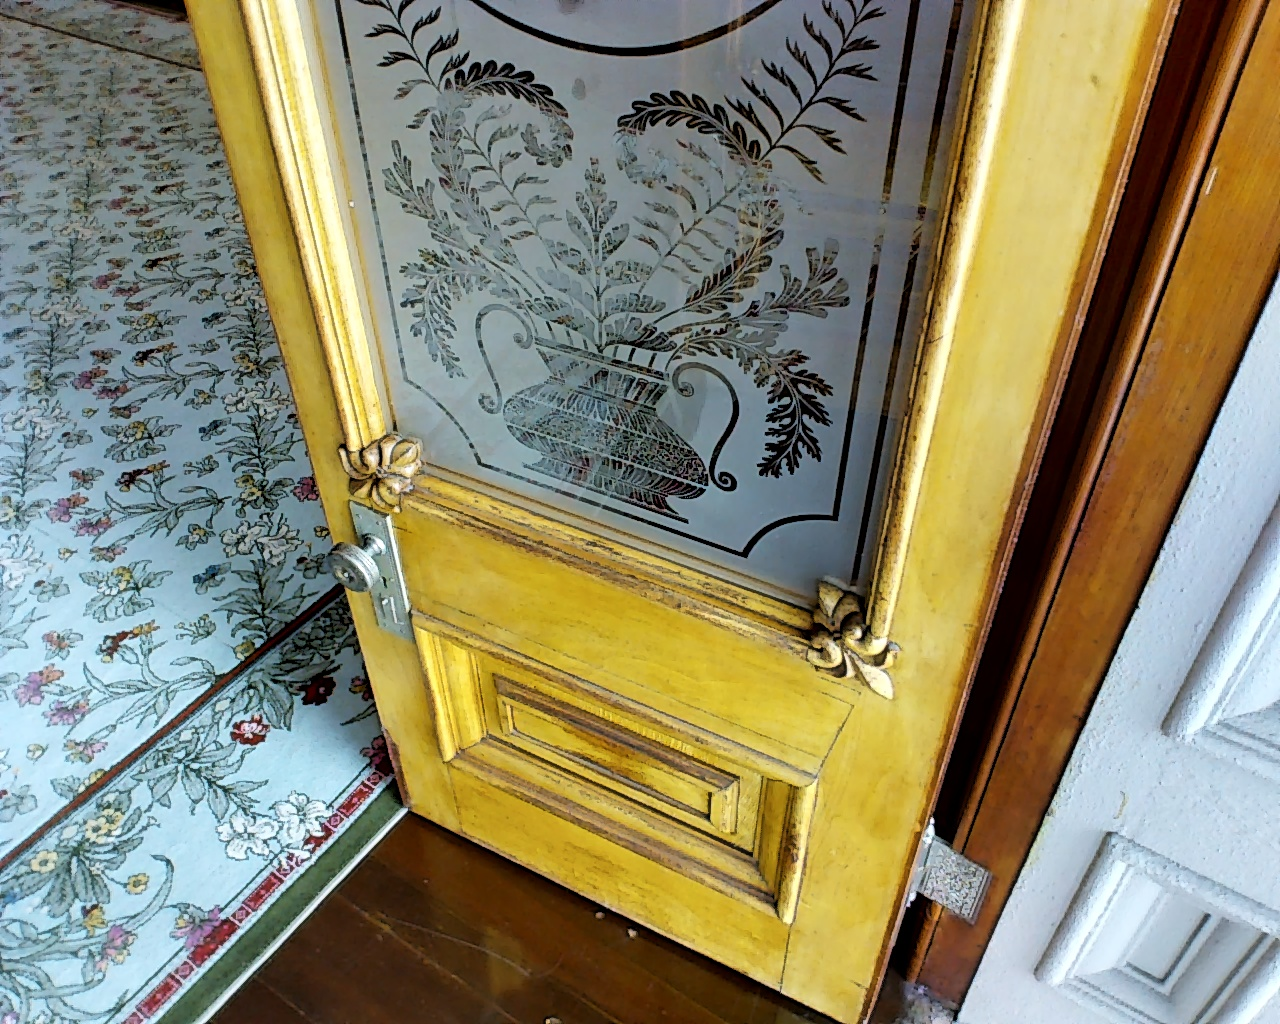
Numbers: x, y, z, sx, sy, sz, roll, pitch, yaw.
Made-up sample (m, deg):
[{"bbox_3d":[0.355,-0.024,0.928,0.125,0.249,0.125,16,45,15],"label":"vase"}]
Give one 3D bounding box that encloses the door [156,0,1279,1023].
[{"bbox_3d":[0.000,-0.640,0.580,0.990,3.210,0.150,23,47,24],"label":"door"}]
